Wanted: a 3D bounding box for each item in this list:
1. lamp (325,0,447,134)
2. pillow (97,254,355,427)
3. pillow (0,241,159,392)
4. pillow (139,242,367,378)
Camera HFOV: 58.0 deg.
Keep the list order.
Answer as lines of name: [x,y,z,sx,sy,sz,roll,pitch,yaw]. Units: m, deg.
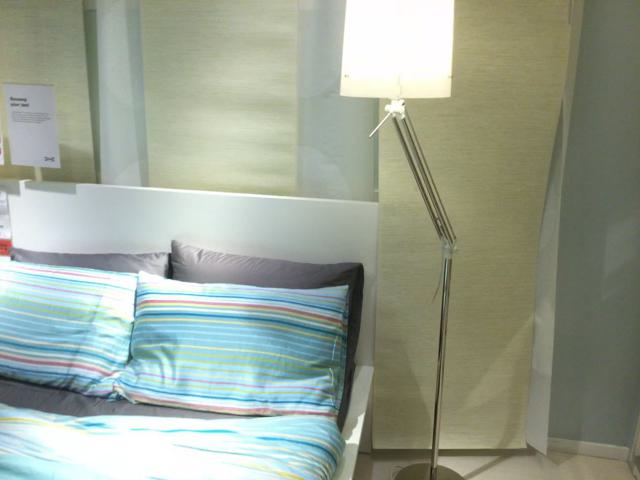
lamp: [0.170,-0.450,1.440,0.270,0.330,0.220,3,20,13]
pillow: [-0.270,0.300,1.800,0.690,0.430,0.200,3,-27,13]
pillow: [-0.960,0.240,1.950,0.720,0.430,0.160,3,-24,13]
pillow: [-0.220,0.230,2.040,0.740,0.350,0.240,3,20,13]
